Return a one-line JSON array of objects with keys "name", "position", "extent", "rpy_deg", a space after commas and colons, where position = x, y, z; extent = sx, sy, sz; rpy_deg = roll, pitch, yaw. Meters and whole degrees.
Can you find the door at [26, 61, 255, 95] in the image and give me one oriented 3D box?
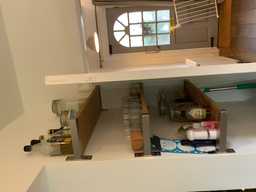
[{"name": "door", "position": [0.610, -0.160, 1.240], "extent": [0.960, 1.960, 0.070], "rpy_deg": [-80, -14, -82]}]
